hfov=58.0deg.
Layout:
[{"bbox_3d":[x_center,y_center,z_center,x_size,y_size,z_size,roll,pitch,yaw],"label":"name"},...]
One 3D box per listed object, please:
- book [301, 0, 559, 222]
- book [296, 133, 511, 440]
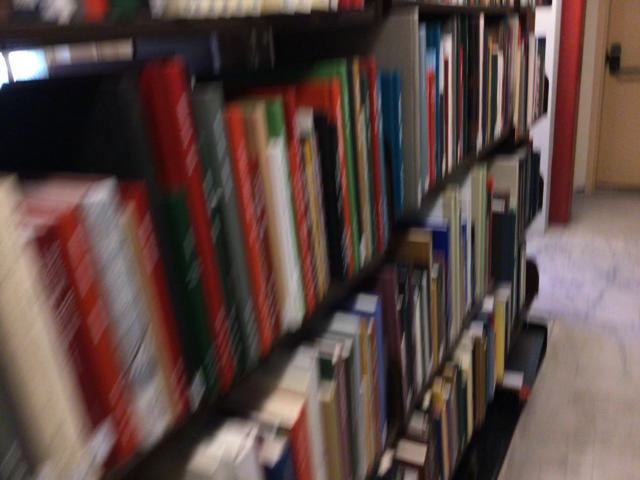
[{"bbox_3d":[0.380,-0.450,1.510,0.250,0.400,1.230,10,25,27],"label":"book"},{"bbox_3d":[0.230,0.040,1.330,0.220,0.420,0.700,10,25,27],"label":"book"}]
